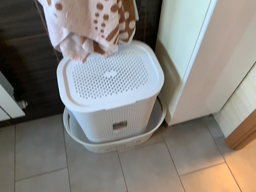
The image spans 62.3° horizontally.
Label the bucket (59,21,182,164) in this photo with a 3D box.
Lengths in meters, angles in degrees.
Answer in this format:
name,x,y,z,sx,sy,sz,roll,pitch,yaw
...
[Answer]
name,x,y,z,sx,sy,sz,roll,pitch,yaw
bucket,-0.060,0.020,1.180,0.440,0.640,0.430,-12,58,-8
